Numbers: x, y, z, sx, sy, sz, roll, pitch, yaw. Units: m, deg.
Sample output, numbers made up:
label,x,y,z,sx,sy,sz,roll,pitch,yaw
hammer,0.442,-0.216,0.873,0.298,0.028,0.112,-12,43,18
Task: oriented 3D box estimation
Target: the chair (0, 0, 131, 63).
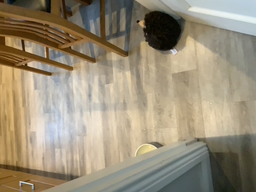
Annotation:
label,x,y,z,sx,sy,sz,roll,pitch,yaw
chair,-0.410,-0.620,1.260,0.420,0.790,0.670,-8,85,36
